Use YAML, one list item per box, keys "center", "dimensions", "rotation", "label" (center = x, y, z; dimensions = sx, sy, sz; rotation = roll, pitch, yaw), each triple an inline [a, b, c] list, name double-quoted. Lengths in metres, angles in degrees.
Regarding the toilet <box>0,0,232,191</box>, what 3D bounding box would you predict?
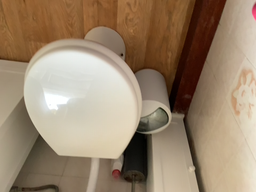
- center: [-0.120, 0.160, 0.720]
  dimensions: [0.450, 0.890, 0.700]
  rotation: [6, 128, -1]
  label: "toilet"
